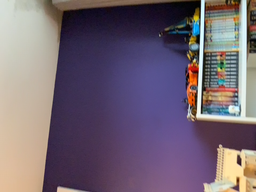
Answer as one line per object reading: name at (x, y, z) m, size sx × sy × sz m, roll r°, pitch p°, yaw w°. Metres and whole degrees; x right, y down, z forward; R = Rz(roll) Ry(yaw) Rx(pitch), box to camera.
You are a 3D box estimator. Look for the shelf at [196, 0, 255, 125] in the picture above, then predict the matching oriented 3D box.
shelf at (0.960, -0.260, 1.250) m, size 0.350 × 1.040 × 0.870 m, roll 27°, pitch -114°, yaw -72°
